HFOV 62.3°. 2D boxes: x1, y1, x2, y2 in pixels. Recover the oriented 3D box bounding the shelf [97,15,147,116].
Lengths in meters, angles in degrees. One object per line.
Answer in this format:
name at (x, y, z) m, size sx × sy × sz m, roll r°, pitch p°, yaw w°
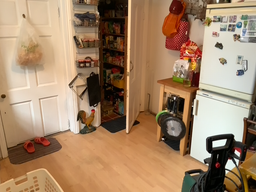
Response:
shelf at (-0.130, -0.580, 3.880) m, size 0.420 × 1.660 × 0.820 m, roll -15°, pitch 25°, yaw -38°
